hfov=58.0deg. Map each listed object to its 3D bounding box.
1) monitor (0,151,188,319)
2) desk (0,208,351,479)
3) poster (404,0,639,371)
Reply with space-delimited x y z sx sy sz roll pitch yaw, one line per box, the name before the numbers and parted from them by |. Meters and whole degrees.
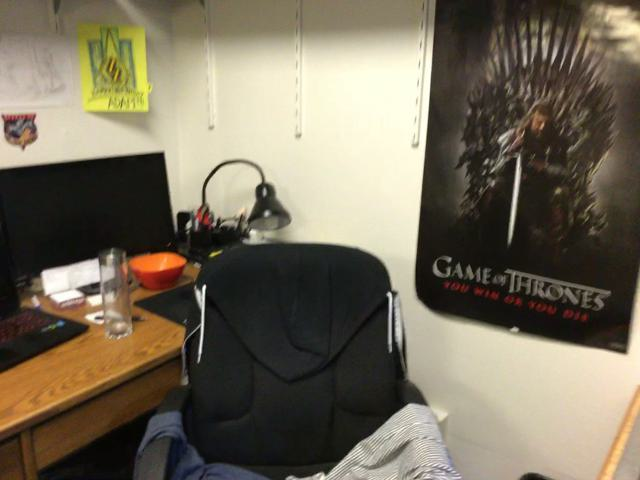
monitor | -0.710 -0.050 1.760 0.300 0.380 0.520 11 18 35
desk | -0.680 0.510 1.670 0.810 0.890 1.520 11 18 35
poster | 0.540 -0.220 1.520 0.640 1.020 0.040 11 18 35
